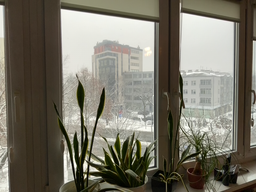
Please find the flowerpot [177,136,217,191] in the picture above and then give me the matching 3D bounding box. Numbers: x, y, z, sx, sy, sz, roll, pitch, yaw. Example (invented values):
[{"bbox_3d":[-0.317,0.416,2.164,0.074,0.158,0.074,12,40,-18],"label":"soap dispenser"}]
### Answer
[{"bbox_3d":[0.480,0.460,1.480,0.200,0.300,0.170,-2,4,-25],"label":"flowerpot"}]
